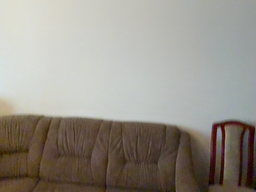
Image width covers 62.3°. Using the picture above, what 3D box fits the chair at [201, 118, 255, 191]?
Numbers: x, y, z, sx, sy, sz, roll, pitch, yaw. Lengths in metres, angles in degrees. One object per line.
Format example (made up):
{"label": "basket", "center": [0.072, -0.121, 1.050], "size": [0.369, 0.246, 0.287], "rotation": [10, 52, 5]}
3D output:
{"label": "chair", "center": [0.930, 0.740, 1.790], "size": [0.430, 0.960, 0.550], "rotation": [4, 12, 6]}
